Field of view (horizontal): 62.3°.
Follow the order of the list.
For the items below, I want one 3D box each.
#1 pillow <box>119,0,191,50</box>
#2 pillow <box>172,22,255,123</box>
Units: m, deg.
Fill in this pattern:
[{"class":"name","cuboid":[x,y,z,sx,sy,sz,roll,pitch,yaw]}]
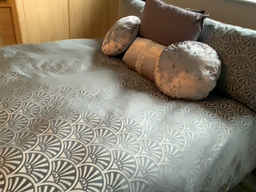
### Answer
[{"class":"pillow","cuboid":[0.160,-0.480,1.410,0.170,0.270,0.460,-21,29,-37]},{"class":"pillow","cuboid":[0.540,-0.150,1.190,0.220,0.470,0.510,-20,21,-39]}]
